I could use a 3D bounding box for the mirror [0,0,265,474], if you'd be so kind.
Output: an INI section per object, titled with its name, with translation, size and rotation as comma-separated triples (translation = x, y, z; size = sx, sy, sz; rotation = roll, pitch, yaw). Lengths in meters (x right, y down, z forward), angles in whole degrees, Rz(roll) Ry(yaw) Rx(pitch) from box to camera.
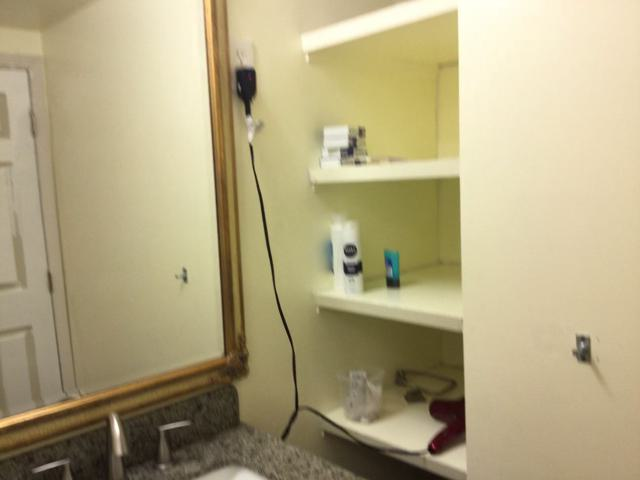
[mirror]
translation = -0.470, -0.140, 1.160
size = 0.790, 1.080, 0.110
rotation = -6, 7, -44
